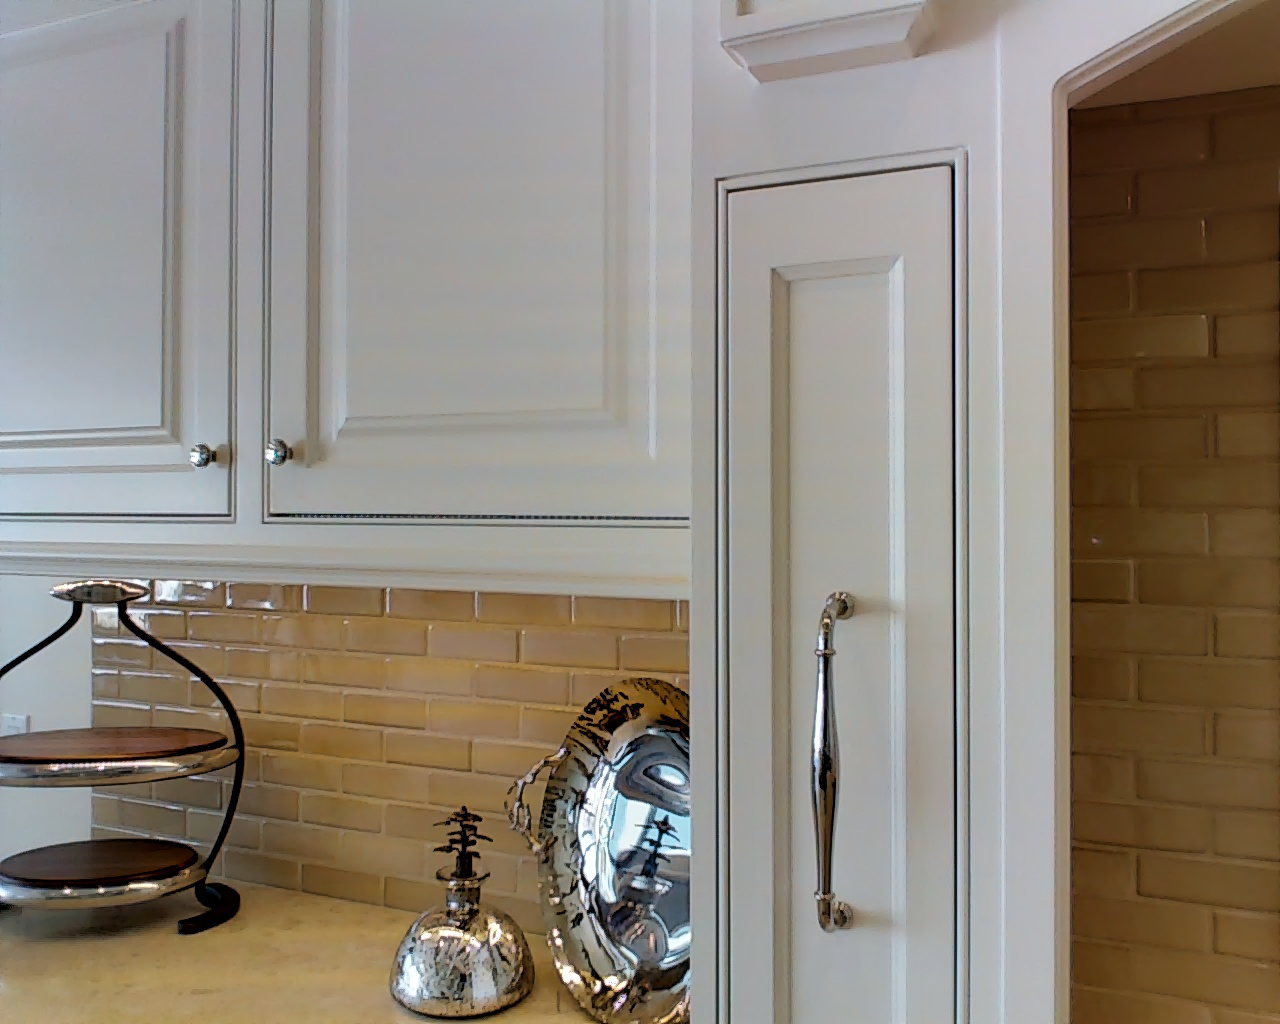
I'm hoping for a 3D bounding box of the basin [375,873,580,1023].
[{"bbox_3d":[-0.190,0.530,1.280,0.170,0.120,0.180,0,-1,26],"label":"basin"}]
